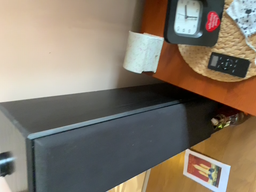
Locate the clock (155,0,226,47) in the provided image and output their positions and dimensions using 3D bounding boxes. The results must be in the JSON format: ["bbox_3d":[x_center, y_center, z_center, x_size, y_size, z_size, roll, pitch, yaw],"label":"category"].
[{"bbox_3d":[0.190,-0.240,0.640,0.100,0.170,0.150,31,118,39],"label":"clock"}]
